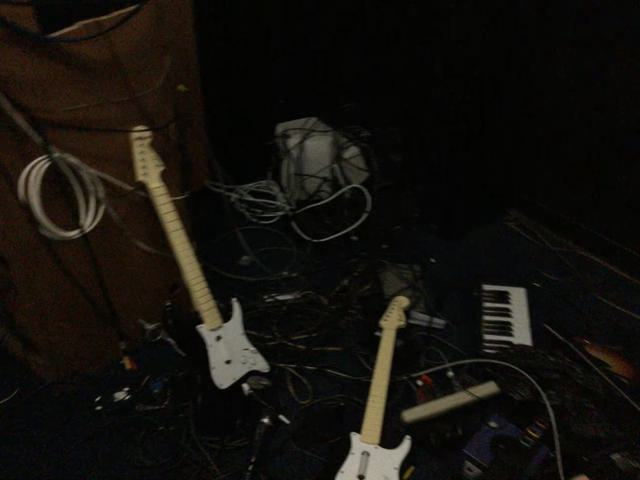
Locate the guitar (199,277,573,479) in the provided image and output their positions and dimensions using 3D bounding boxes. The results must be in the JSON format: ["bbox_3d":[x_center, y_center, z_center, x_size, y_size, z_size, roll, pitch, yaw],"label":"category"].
[{"bbox_3d":[0.150,0.430,1.580,0.700,0.110,0.720,-20,36,-29],"label":"guitar"}]
